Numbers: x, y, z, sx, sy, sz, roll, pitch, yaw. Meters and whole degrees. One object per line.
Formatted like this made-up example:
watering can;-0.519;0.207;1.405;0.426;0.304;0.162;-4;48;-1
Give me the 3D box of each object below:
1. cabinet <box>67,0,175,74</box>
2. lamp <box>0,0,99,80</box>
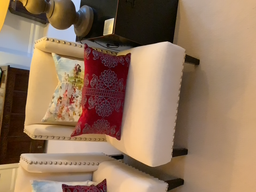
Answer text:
cabinet;-0.060;-0.500;1.700;0.560;0.580;0.540;10;93;47
lamp;-0.700;-0.450;1.320;0.480;0.840;0.560;10;93;47
